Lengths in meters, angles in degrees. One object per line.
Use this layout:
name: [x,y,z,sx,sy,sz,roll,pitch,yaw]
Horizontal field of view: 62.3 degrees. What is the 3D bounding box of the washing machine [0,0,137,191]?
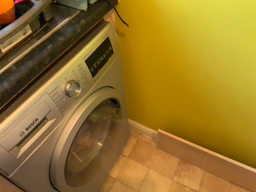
washing machine: [-0.410,0.060,1.040,0.650,0.930,0.670,20,55,20]
